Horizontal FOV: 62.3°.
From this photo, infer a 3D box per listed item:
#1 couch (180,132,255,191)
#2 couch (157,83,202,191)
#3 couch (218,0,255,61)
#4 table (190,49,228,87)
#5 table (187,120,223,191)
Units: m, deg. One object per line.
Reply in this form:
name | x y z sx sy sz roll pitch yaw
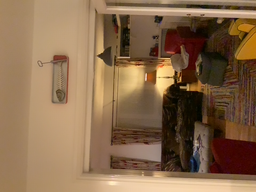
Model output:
couch | 1.130 1.000 2.360 0.850 0.840 0.800 -86 -2 -60
couch | 1.220 1.020 5.300 1.180 0.780 2.580 47 -135 -88
couch | 1.370 -0.730 2.350 0.440 0.500 0.520 90 -177 -65
table | 1.450 -0.530 3.880 0.640 0.390 0.470 -86 -2 -60
table | 1.420 1.340 4.040 0.870 0.320 1.630 -43 -45 -88
